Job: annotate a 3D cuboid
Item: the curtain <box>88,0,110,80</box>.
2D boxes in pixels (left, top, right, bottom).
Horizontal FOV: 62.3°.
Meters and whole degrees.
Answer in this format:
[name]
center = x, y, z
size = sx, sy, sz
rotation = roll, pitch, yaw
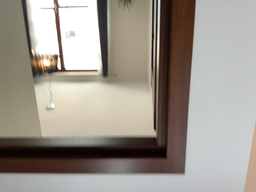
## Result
[curtain]
center = -0.580, -1.650, 4.140
size = 0.340, 2.660, 0.260
rotation = -2, -163, -3
